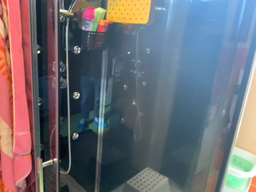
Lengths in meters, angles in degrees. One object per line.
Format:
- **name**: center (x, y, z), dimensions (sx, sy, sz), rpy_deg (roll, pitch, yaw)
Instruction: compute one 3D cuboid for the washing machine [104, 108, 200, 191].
- **washing machine**: center (0.200, 0.630, 1.950), dimensions (0.520, 0.830, 0.620), rpy_deg (20, 22, 41)
